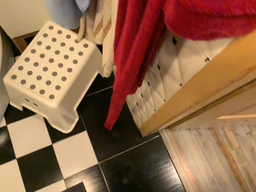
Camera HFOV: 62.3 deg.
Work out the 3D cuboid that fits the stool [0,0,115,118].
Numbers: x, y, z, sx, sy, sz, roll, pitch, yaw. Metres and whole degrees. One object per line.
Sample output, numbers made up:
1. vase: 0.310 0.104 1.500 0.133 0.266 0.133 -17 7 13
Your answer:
1. stool: -0.300 -0.160 0.990 0.320 0.260 0.380 27 72 1
